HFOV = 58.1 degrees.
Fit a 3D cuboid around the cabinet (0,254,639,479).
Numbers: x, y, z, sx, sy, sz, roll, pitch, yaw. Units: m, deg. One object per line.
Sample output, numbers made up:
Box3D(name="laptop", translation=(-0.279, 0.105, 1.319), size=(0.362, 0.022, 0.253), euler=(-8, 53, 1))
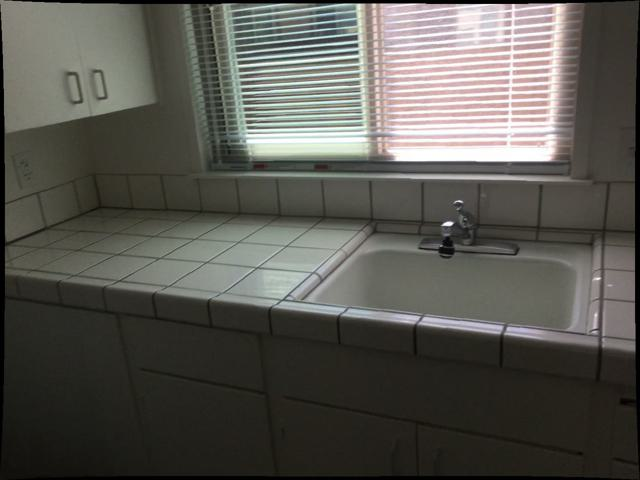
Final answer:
Box3D(name="cabinet", translation=(-0.100, 0.581, 1.430), size=(2.087, 0.921, 0.130), euler=(6, 25, 24))
